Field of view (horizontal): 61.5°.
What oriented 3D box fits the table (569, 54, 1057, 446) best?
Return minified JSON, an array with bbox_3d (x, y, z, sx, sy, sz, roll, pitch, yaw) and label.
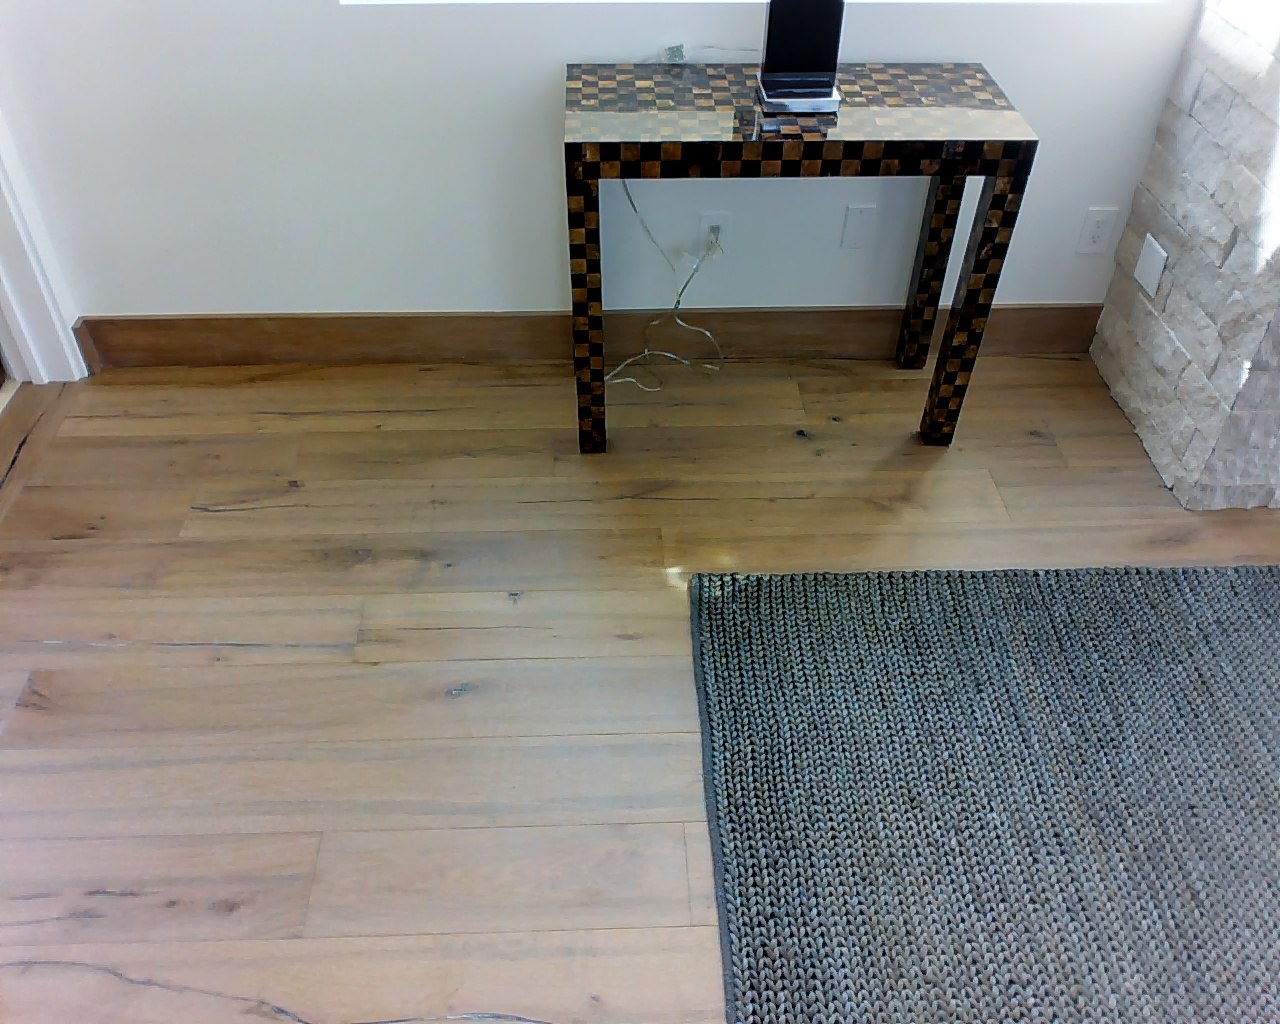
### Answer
[{"bbox_3d":[0.320,-0.590,2.470,0.940,0.750,0.440,-1,42,-2],"label":"table"}]
